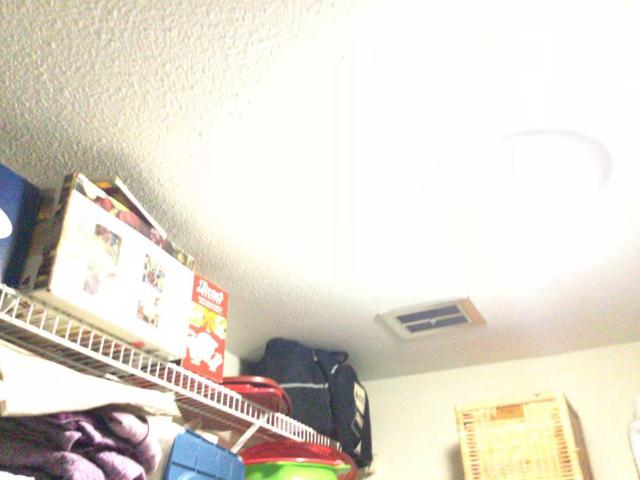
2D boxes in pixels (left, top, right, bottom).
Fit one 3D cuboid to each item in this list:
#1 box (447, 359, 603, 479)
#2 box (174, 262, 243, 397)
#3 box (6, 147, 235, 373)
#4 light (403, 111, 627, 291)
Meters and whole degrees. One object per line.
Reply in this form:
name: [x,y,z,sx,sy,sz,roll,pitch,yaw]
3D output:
box: [0.620,0.660,1.690,0.350,0.480,0.360,-14,-33,22]
box: [-0.240,0.200,1.280,0.030,0.250,0.180,-14,-33,22]
box: [-0.330,0.060,1.070,0.130,0.250,0.400,-14,-33,22]
light: [0.360,-0.050,1.060,0.330,0.130,0.280,-14,-33,22]
